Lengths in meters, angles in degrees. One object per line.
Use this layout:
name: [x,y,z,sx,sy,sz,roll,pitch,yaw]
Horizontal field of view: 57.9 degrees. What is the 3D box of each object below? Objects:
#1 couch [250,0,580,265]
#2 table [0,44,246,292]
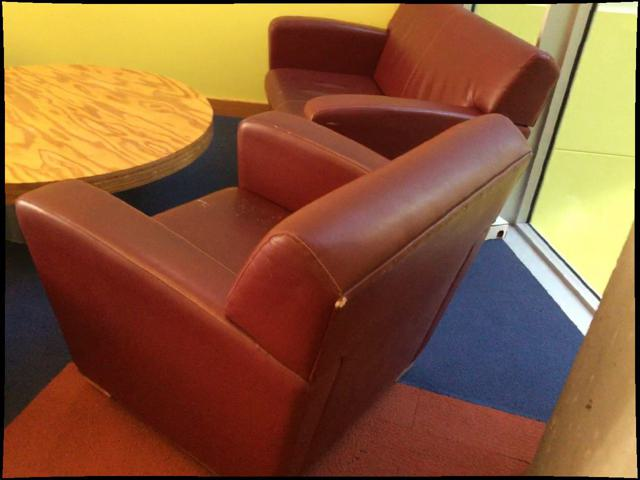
couch: [0.230,-0.631,2.540,0.979,0.751,1.390,-4,33,-8]
table: [-1.009,-0.370,2.250,1.219,0.440,1.180,3,33,3]
